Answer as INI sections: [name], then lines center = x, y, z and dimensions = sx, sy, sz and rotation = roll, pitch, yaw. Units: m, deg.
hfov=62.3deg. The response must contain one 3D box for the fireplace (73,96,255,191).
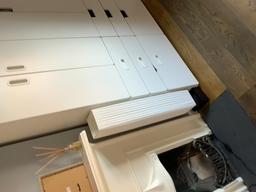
[fireplace]
center = 0.290, 0.520, 1.390
dimensions = 0.880, 1.040, 0.250
rotation = 63, 148, 26
